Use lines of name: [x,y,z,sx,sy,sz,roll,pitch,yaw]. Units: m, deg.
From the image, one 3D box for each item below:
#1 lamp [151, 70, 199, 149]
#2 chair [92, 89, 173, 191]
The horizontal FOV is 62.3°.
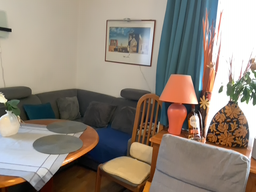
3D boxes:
lamp: [0.390,0.090,1.760,0.260,0.580,0.250,11,12,27]
chair: [0.040,0.540,2.000,0.440,1.110,0.570,12,12,29]
